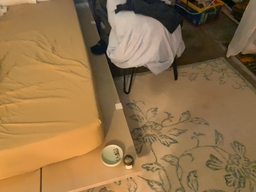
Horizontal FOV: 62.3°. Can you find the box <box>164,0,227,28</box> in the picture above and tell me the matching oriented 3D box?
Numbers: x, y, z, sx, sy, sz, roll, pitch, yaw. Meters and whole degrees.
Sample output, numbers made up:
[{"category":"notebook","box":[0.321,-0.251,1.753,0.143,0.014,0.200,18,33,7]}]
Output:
[{"category":"box","box":[0.830,-1.180,2.690,0.460,0.270,0.600,-21,51,-16]}]
